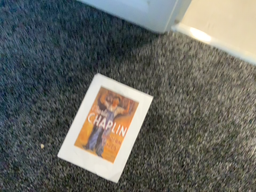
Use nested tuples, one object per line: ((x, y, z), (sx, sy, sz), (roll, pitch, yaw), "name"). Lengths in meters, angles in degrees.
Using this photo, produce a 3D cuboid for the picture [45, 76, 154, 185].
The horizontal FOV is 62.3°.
((-0.090, 0.110, 0.710), (0.270, 0.040, 0.270), (21, 83, 2), "picture")
